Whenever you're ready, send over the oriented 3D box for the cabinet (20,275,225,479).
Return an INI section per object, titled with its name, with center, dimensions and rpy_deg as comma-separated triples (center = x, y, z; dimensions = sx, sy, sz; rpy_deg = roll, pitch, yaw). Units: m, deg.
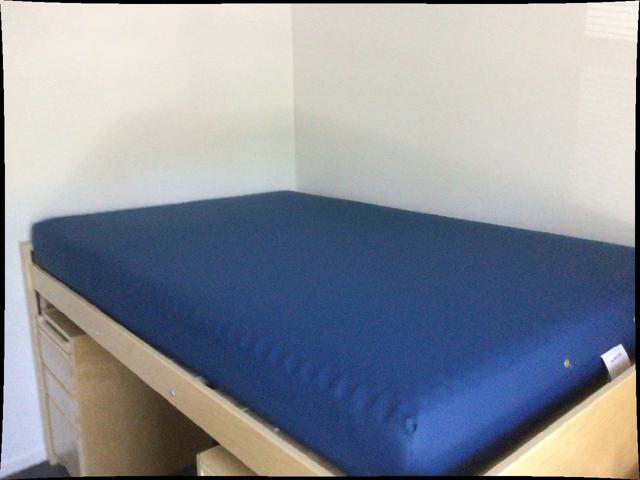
[cabinet]
center = -0.839, 0.621, 2.500
dimensions = 0.609, 0.731, 0.510
rpy_deg = -14, 19, -40
